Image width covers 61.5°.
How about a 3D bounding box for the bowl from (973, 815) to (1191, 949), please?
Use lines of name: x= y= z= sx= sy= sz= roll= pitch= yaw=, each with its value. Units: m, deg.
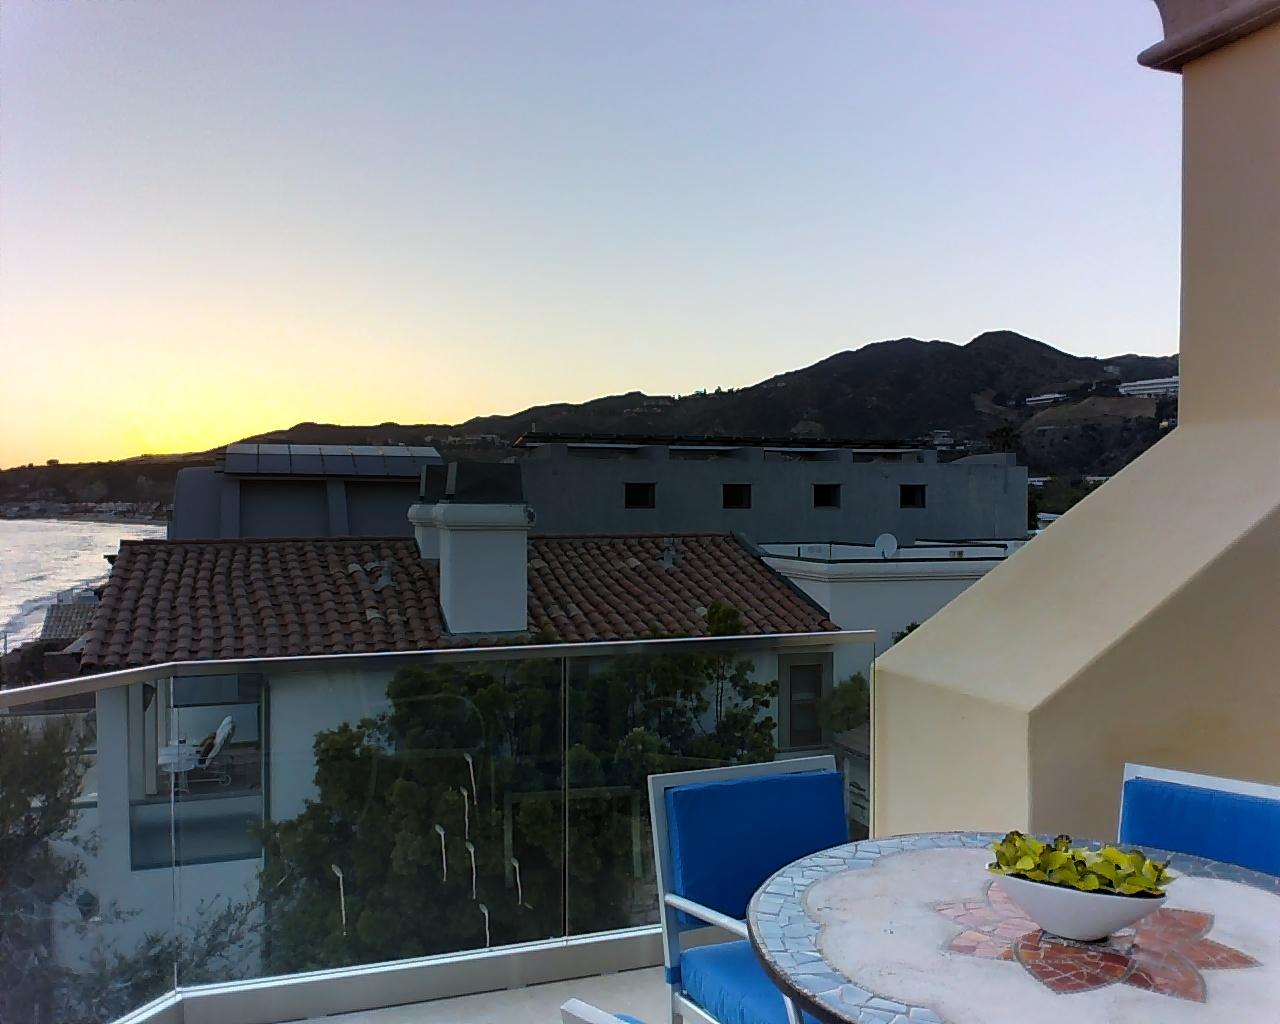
bowl: x=0.810 y=0.680 z=2.000 sx=0.320 sy=0.170 sz=0.220 roll=-1 pitch=0 yaw=3
